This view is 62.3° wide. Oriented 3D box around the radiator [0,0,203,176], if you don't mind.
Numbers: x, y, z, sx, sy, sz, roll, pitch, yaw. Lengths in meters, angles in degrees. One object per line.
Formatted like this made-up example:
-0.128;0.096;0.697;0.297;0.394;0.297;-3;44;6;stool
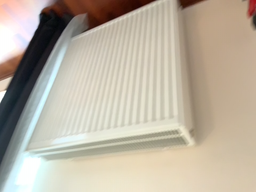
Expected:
-0.270;-0.100;1.270;1.240;1.020;0.200;-13;139;25;radiator
